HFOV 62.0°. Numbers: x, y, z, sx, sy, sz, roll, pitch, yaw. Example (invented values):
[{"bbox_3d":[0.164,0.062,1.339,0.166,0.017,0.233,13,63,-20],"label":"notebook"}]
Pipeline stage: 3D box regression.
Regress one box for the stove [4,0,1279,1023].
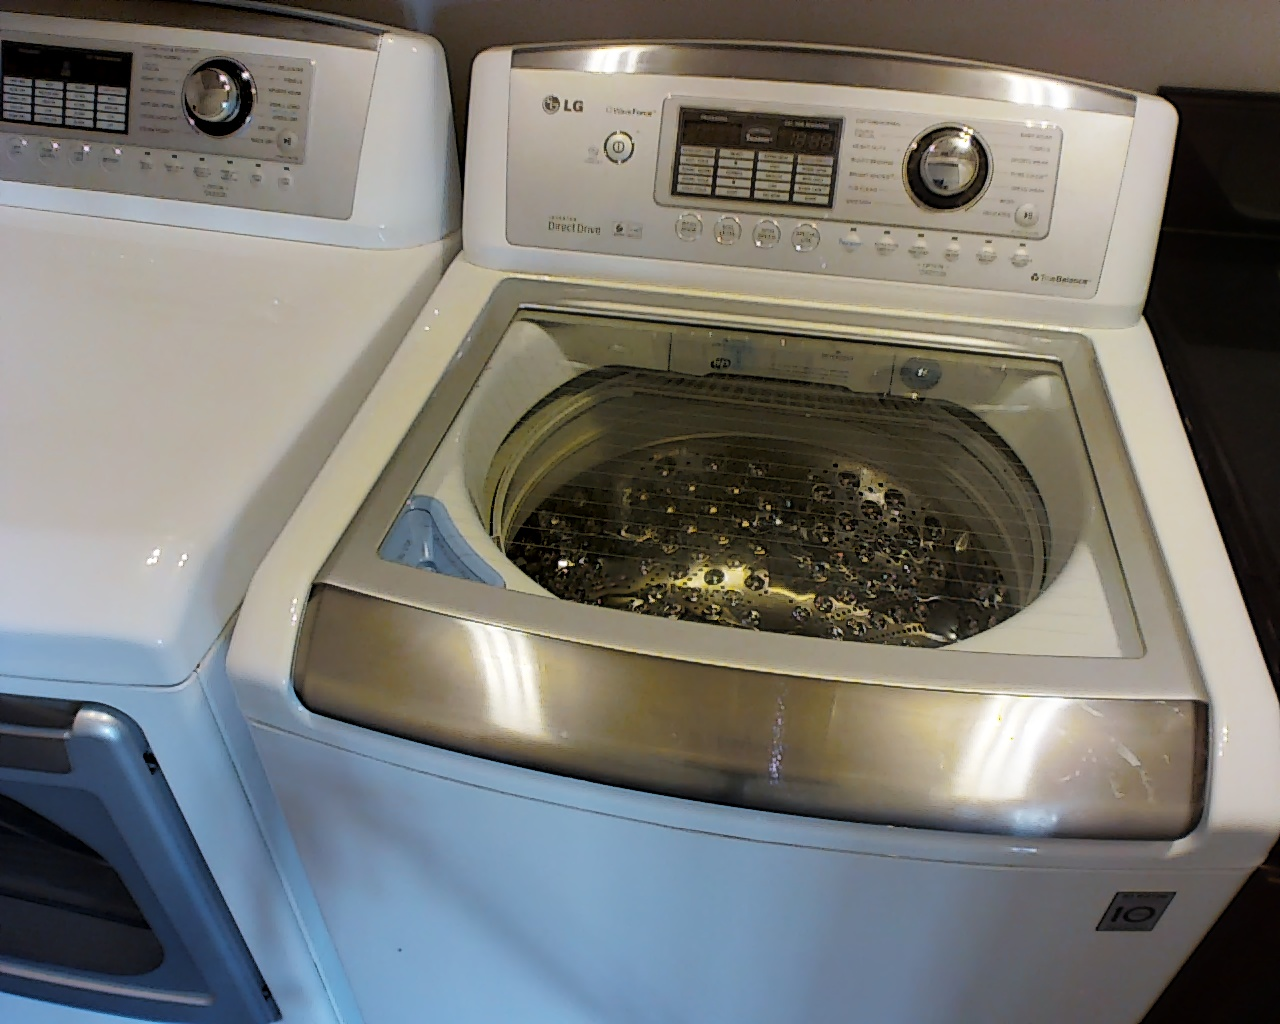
[{"bbox_3d":[0.140,0.180,1.130,0.780,1.150,0.780,6,42,6],"label":"stove"}]
